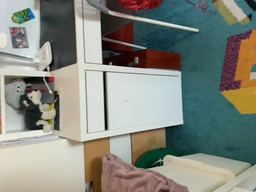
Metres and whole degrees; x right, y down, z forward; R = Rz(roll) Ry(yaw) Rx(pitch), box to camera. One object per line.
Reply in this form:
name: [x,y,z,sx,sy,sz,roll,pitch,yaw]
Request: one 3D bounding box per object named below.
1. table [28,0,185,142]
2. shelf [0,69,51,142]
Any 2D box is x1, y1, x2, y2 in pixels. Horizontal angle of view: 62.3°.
table: [-0.160,-0.320,1.410,0.700,0.740,1.040,-4,88,49]
shelf: [-0.740,0.050,1.110,0.370,0.530,0.340,-4,88,49]
